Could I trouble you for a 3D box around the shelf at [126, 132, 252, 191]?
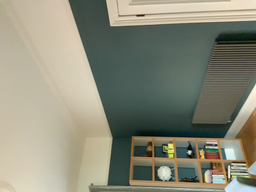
[{"bbox_3d":[1.050,1.260,4.060,0.460,2.070,0.980,84,-171,-52],"label":"shelf"}]
